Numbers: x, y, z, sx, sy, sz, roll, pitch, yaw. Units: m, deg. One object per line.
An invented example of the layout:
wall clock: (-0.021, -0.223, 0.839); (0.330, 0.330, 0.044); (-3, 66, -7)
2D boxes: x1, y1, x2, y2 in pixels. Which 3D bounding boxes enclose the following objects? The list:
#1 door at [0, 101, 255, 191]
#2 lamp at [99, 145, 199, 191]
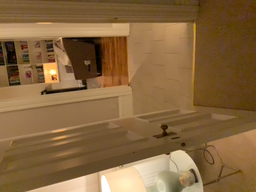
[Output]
door: (-0.180, 0.240, 1.320); (0.830, 2.160, 0.060); (-171, 75, -67)
lamp: (0.150, 0.710, 1.690); (0.450, 0.640, 0.350); (-154, 59, -64)
